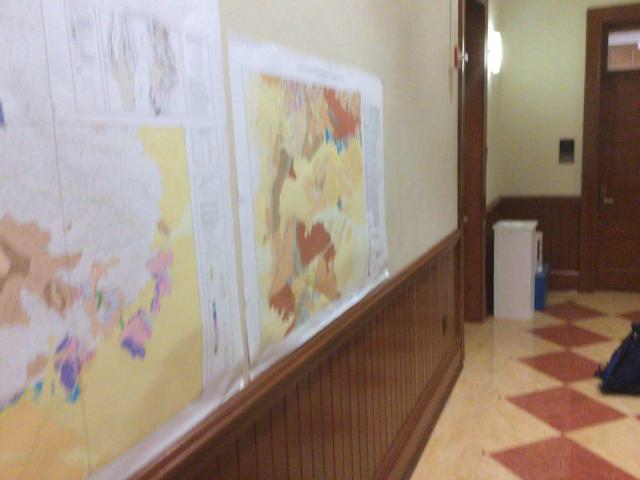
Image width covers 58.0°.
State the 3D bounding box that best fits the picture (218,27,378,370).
[{"bbox_3d":[0.000,-0.140,1.750,0.050,0.760,1.000,3,8,23],"label":"picture"}]
